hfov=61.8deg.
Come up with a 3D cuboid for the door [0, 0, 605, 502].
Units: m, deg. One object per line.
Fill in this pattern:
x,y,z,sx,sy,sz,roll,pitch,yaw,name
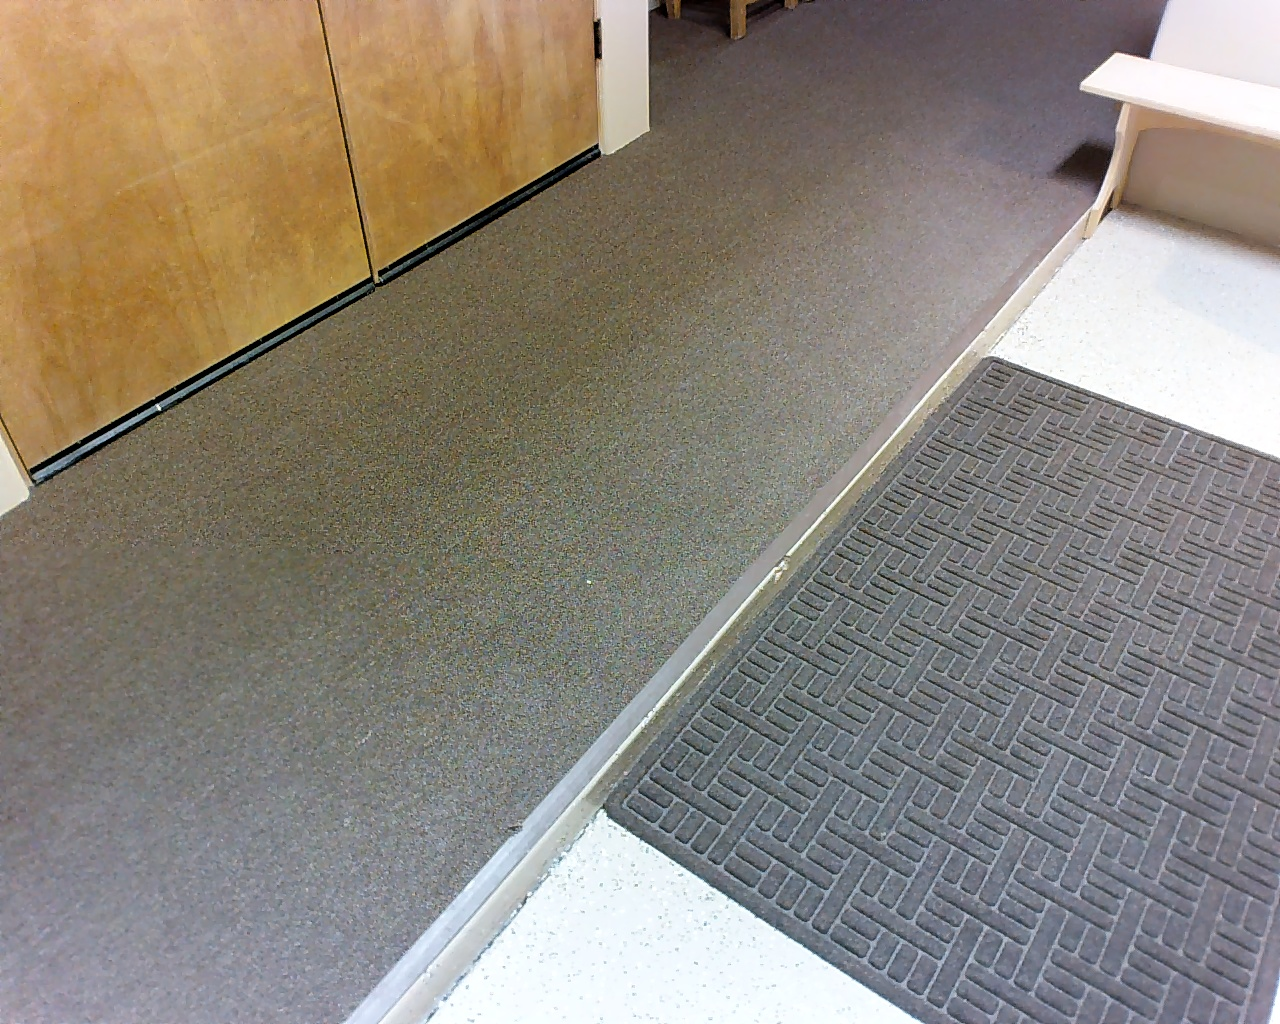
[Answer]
-0.660,-1.290,1.950,0.040,2.020,1.860,25,48,26,door
